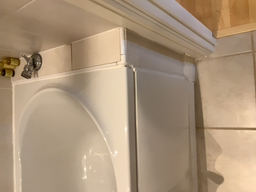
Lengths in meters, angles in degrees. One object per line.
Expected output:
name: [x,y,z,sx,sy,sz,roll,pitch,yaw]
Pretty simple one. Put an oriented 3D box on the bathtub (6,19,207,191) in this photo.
bathtub: [-0.080,0.700,1.000,0.730,0.600,1.780,-4,87,37]
